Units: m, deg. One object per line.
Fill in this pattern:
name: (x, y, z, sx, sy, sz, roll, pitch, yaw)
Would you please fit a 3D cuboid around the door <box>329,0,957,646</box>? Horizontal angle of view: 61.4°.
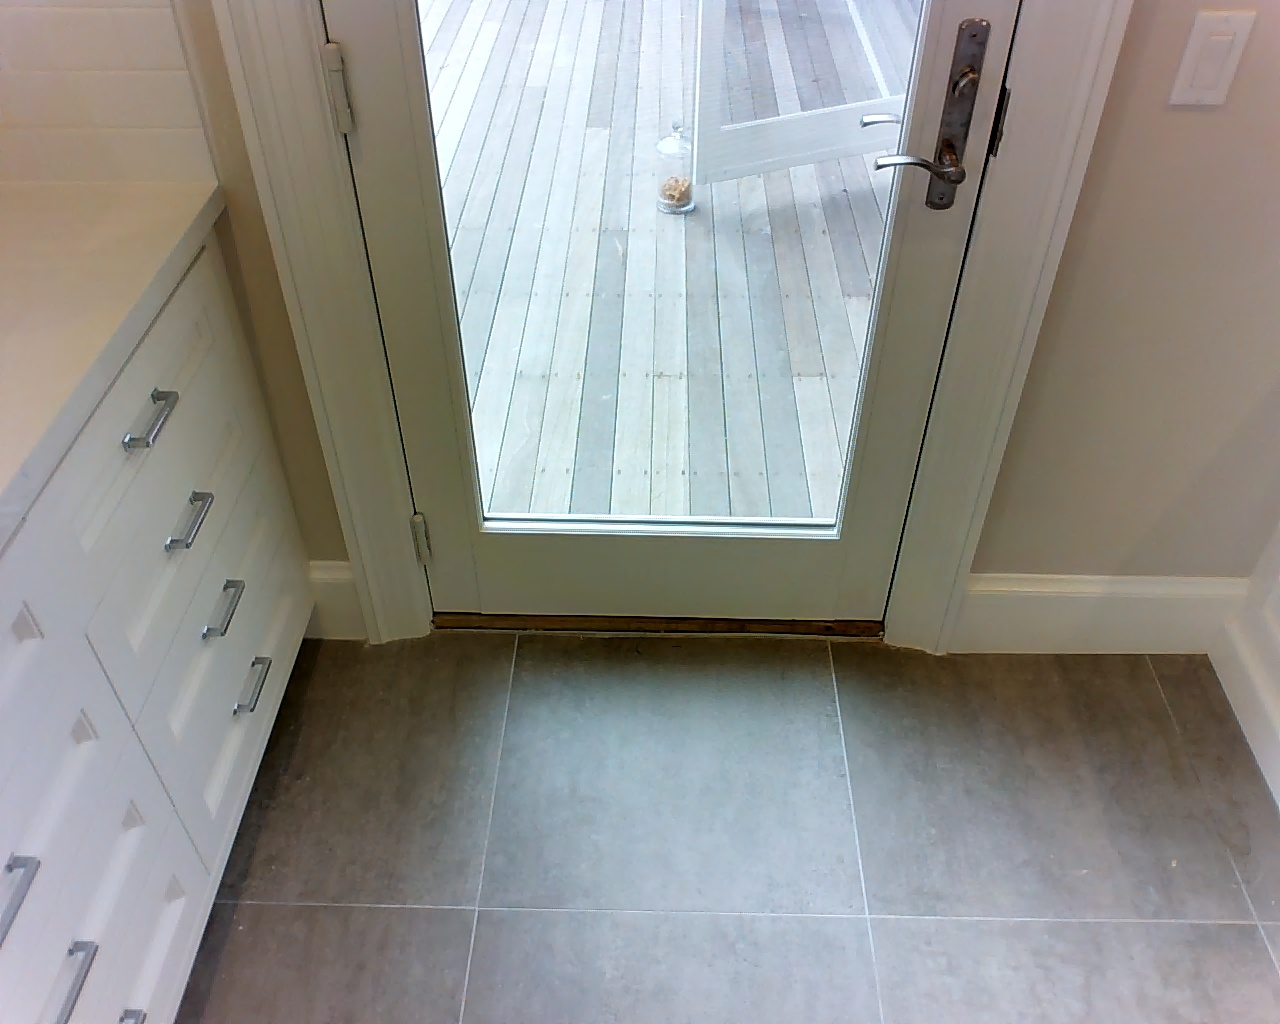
door: (0.000, -0.470, 1.460, 0.760, 1.910, 0.030, 1, 42, 1)
